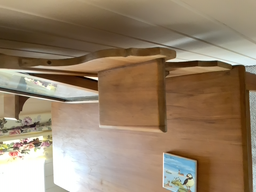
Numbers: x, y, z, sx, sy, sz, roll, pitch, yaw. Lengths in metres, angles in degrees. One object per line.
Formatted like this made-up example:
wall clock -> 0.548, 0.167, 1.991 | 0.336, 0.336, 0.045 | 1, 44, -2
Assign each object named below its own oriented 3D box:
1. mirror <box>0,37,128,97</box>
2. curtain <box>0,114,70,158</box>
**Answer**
mirror -> -0.320, -0.060, 0.620 | 0.380, 0.550, 0.100 | -6, 92, 36
curtain -> -1.190, 0.380, 1.790 | 0.070, 1.510, 0.320 | 1, 92, 45
